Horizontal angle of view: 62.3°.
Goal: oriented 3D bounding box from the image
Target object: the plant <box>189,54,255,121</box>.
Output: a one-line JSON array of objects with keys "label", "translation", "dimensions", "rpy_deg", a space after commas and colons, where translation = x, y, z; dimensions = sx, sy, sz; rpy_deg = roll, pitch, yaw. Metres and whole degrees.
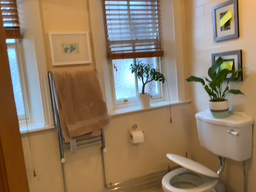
[{"label": "plant", "translation": [0.780, -0.090, 1.790], "dimensions": [0.250, 0.470, 0.460], "rpy_deg": [-9, 9, -23]}]

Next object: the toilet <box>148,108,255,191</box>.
[{"label": "toilet", "translation": [0.640, 0.630, 1.780], "dimensions": [0.720, 0.900, 0.480], "rpy_deg": [-9, 9, -23]}]
